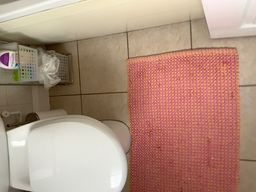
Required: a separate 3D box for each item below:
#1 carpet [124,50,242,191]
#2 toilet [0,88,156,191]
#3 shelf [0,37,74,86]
[{"bbox_3d":[0.260,0.230,1.080,0.550,0.010,0.850,-3,92,23],"label":"carpet"},{"bbox_3d":[-0.350,0.260,0.920,0.730,0.770,0.530,-3,92,23],"label":"toilet"},{"bbox_3d":[-0.590,-0.150,1.000,0.200,0.780,0.190,-5,91,23],"label":"shelf"}]
